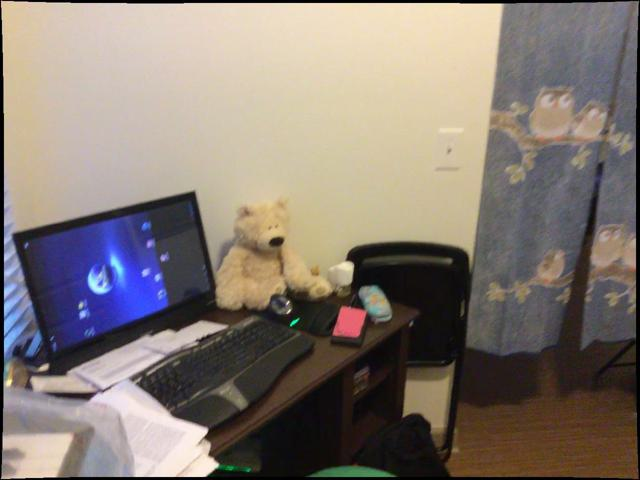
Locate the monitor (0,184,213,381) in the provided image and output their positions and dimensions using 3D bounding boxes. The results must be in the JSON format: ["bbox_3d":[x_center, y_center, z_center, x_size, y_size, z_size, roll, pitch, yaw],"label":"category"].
[{"bbox_3d":[-0.519,0.080,1.460,0.190,0.331,0.450,17,27,37],"label":"monitor"}]

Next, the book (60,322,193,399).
[{"bbox_3d":[-0.459,0.281,1.390,0.160,0.020,0.260,15,26,33],"label":"book"}]

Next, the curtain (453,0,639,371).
[{"bbox_3d":[0.938,-0.361,1.830,0.878,1.663,0.130,-3,21,-8],"label":"curtain"}]

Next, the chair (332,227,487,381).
[{"bbox_3d":[0.279,0.211,1.890,0.459,0.471,0.120,-3,21,-8],"label":"chair"}]
